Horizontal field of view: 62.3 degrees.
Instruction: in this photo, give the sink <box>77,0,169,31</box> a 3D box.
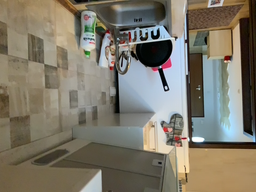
[{"bbox_3d":[0.000,-0.540,1.250,0.460,0.160,0.400,-2,180,13],"label":"sink"}]
